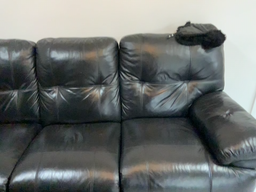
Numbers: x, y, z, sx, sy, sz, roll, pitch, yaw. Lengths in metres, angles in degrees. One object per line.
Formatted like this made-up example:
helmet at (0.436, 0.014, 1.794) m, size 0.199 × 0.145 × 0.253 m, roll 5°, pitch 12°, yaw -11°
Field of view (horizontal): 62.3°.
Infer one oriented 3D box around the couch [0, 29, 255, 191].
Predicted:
couch at (-0.210, 0.160, 1.450) m, size 1.870 × 0.960 × 1.010 m, roll -2°, pitch 29°, yaw -1°
